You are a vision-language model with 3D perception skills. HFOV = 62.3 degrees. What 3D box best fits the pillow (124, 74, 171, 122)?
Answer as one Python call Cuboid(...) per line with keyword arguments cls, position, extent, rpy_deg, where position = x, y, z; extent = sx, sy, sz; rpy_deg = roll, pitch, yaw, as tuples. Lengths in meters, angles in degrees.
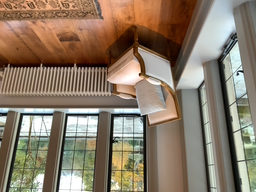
Cuboid(cls="pillow", position=(0.220, 0.030, 2.560), extent=(0.190, 0.360, 0.470), rpy_deg=(-16, 157, -40))
